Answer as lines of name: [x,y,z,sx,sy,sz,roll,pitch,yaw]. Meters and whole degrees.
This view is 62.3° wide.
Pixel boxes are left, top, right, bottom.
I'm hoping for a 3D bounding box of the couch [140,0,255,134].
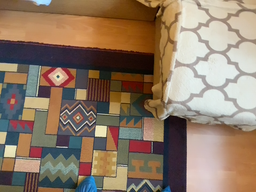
couch: [0.530,-0.180,0.930,0.830,0.710,0.630,5,79,-4]
